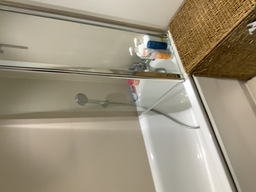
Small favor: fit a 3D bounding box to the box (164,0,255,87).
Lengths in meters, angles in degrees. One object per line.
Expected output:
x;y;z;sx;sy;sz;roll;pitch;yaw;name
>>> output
0.670;-0.400;1.290;0.610;0.570;0.410;130;135;-52;box
